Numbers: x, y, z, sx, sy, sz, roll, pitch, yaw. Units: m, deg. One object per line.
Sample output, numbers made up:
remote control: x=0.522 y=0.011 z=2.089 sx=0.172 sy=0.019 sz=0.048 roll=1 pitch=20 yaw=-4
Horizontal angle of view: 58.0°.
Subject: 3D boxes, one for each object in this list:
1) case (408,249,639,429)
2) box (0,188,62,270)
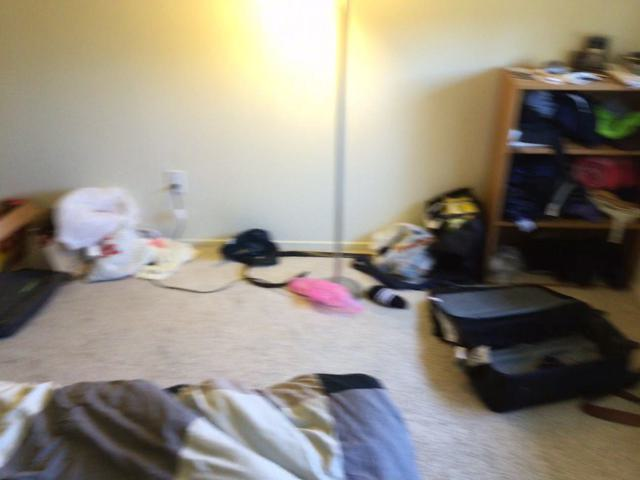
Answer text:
case: x=0.760 y=0.320 z=2.160 sx=0.690 sy=0.190 sz=0.760 roll=-4 pitch=28 yaw=-4
box: x=-1.520 y=-0.060 z=2.770 sx=0.350 sy=0.260 sz=0.350 roll=1 pitch=28 yaw=5
